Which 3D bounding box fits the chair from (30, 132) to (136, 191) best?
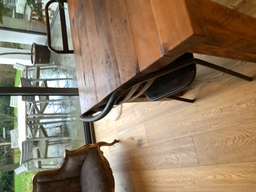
[{"bbox_3d":[-0.510,0.930,2.280,0.660,0.830,0.770,-53,49,41],"label":"chair"}]
